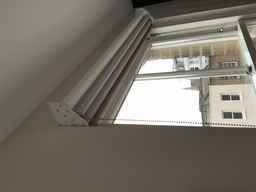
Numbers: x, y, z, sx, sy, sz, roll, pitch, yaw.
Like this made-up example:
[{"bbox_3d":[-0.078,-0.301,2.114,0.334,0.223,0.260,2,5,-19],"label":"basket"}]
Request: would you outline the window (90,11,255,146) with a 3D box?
[{"bbox_3d":[0.610,-0.200,1.020,1.090,1.300,0.050,-66,-33,-48],"label":"window"}]
